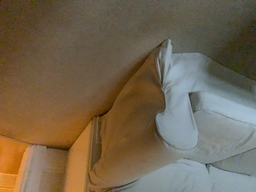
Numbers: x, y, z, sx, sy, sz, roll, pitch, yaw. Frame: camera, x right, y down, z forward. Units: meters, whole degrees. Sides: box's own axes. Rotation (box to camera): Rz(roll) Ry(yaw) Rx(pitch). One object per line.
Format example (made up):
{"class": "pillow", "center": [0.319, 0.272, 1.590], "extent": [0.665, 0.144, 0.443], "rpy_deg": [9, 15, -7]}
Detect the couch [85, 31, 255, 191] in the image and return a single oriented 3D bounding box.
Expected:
{"class": "couch", "center": [0.580, 0.440, 1.520], "extent": [1.480, 0.840, 0.970], "rpy_deg": [16, 142, -25]}
